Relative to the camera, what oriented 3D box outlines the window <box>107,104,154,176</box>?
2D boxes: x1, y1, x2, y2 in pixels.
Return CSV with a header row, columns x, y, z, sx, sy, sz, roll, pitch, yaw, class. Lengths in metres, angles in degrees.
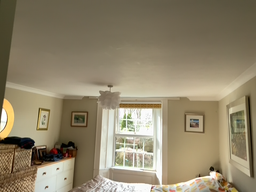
x,y,z,sx,sy,sz,roll,pitch,yaw,class
0.070,0.930,4.740,0.970,1.490,0.240,0,-8,16,window
